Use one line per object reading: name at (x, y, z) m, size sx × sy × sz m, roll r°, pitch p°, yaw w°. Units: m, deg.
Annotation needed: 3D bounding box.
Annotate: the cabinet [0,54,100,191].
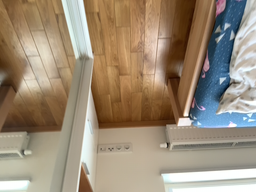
cabinet at (-0.520, 0.240, 1.540) m, size 0.520 × 0.670 × 0.800 m, roll -3°, pitch 137°, yaw -1°
